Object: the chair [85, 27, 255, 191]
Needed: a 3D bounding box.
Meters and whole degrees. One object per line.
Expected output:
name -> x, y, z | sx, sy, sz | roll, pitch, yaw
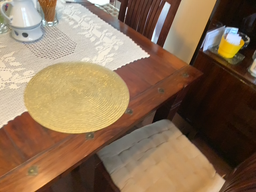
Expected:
chair -> 0.170, 0.330, 0.920 | 0.490, 1.000, 0.550 | -21, 53, -29
